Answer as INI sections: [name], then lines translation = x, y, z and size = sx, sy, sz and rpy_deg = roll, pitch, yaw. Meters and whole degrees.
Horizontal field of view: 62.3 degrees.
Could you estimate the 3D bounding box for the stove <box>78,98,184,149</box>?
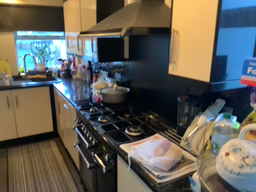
[stove]
translation = -0.040, 0.180, 1.850
size = 0.540, 0.030, 0.920
rpy_deg = -8, 18, -28
